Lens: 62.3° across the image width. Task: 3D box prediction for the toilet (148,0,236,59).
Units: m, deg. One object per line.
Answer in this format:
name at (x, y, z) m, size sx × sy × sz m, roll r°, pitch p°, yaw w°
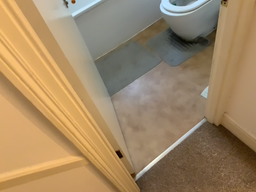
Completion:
toilet at (0.560, -0.910, 1.820) m, size 0.660 × 0.880 × 0.410 m, roll -37°, pitch 53°, yaw -13°
